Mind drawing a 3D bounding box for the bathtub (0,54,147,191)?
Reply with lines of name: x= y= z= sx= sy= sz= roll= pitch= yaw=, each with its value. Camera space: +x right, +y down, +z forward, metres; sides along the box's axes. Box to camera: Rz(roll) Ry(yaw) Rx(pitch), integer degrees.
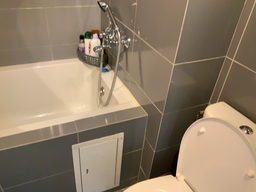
bathtub: x=-0.730 y=0.250 z=1.260 sx=1.420 sy=0.580 sz=0.780 roll=-11 pitch=38 yaw=-22
